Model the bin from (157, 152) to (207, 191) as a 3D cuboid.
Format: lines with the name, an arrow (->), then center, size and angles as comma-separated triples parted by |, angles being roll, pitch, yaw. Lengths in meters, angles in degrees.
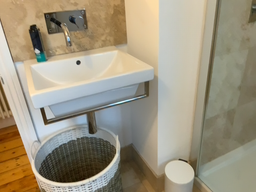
bin -> 0.320, 0.530, 1.300 | 0.230, 0.250, 0.170 | -14, 30, -19
